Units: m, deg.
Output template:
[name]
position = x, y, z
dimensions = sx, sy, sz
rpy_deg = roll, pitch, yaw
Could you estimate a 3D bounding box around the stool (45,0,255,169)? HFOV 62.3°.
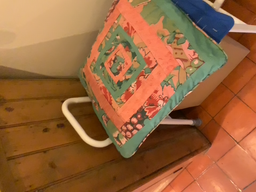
[stool]
position = 0.150, -0.100, 0.830
dimensions = 0.330, 0.710, 0.500
rpy_deg = 51, 124, 28
